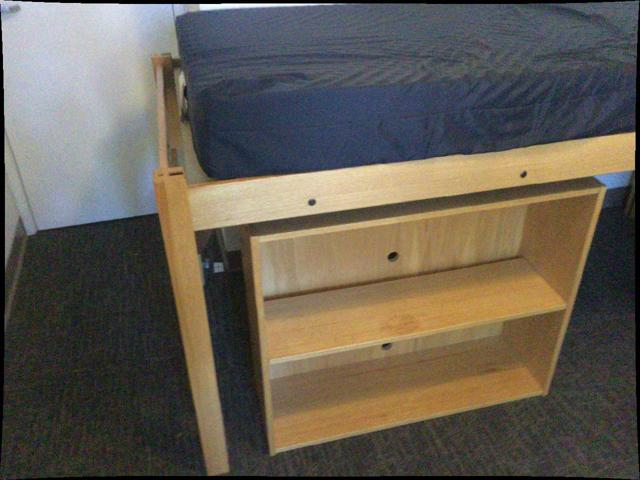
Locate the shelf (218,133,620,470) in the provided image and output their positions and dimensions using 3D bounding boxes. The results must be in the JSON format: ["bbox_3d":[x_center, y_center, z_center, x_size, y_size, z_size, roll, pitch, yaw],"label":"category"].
[{"bbox_3d":[0.250,0.170,1.700,0.979,0.791,0.330,-9,33,-13],"label":"shelf"}]
